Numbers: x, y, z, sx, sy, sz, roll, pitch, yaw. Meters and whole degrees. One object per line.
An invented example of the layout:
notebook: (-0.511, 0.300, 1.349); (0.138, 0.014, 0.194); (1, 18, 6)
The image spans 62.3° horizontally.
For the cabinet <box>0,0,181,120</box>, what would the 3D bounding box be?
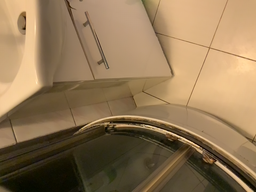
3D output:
cabinet: (-0.120, -0.240, 0.910); (0.310, 0.730, 0.480); (-25, 82, 32)

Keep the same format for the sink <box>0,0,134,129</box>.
sink: (-0.280, -0.220, 0.560); (0.410, 0.170, 0.510); (-25, 82, 32)
